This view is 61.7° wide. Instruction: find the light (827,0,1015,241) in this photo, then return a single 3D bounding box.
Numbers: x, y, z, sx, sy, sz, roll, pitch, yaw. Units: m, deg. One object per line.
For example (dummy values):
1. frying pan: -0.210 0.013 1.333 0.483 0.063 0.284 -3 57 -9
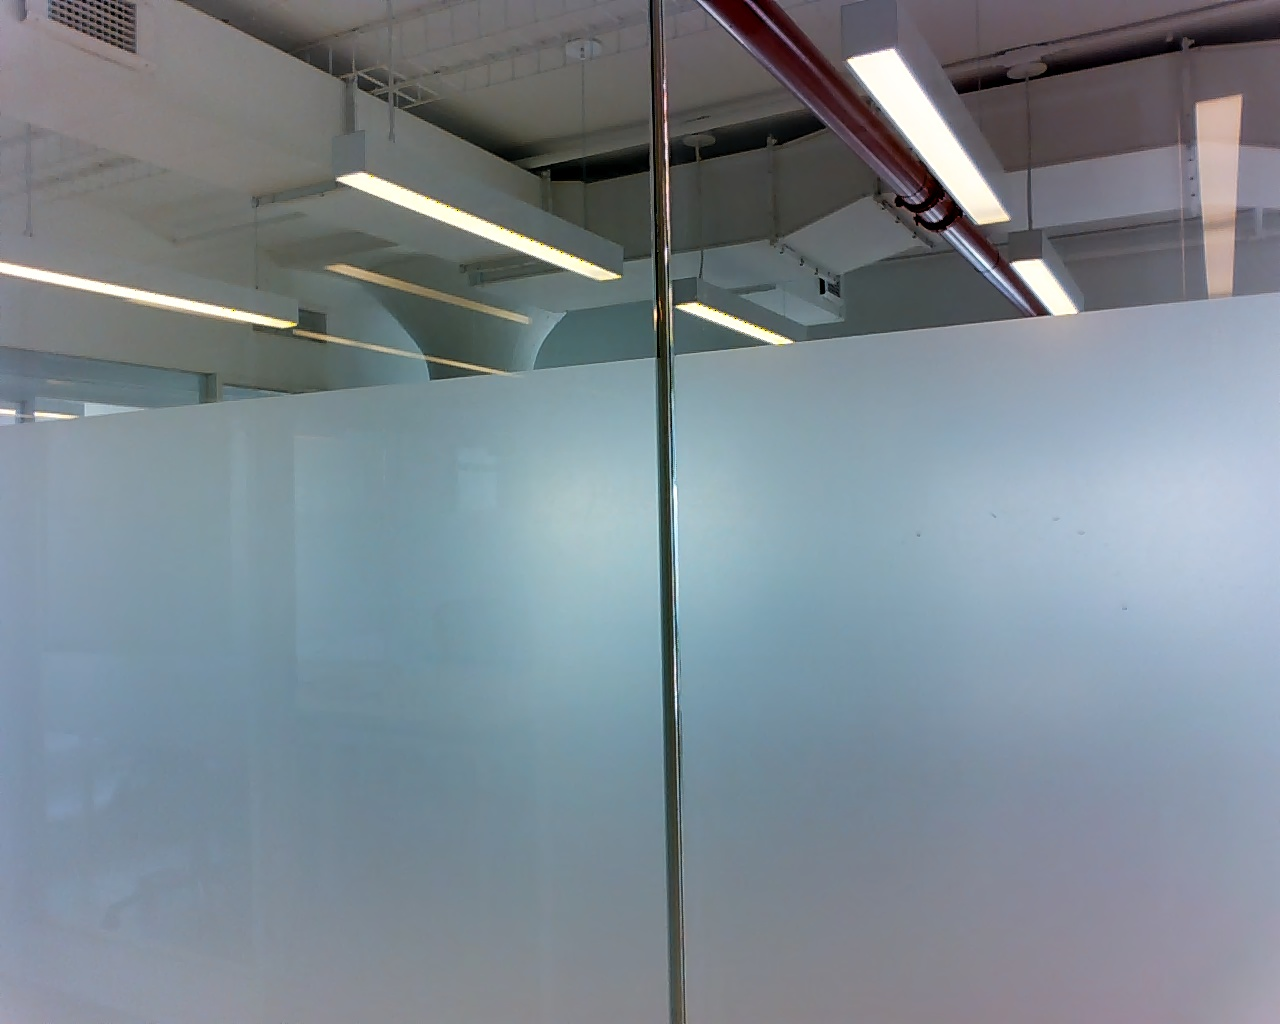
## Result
1. light: 0.690 -0.880 2.460 0.130 0.210 1.240 -2 -1 28
